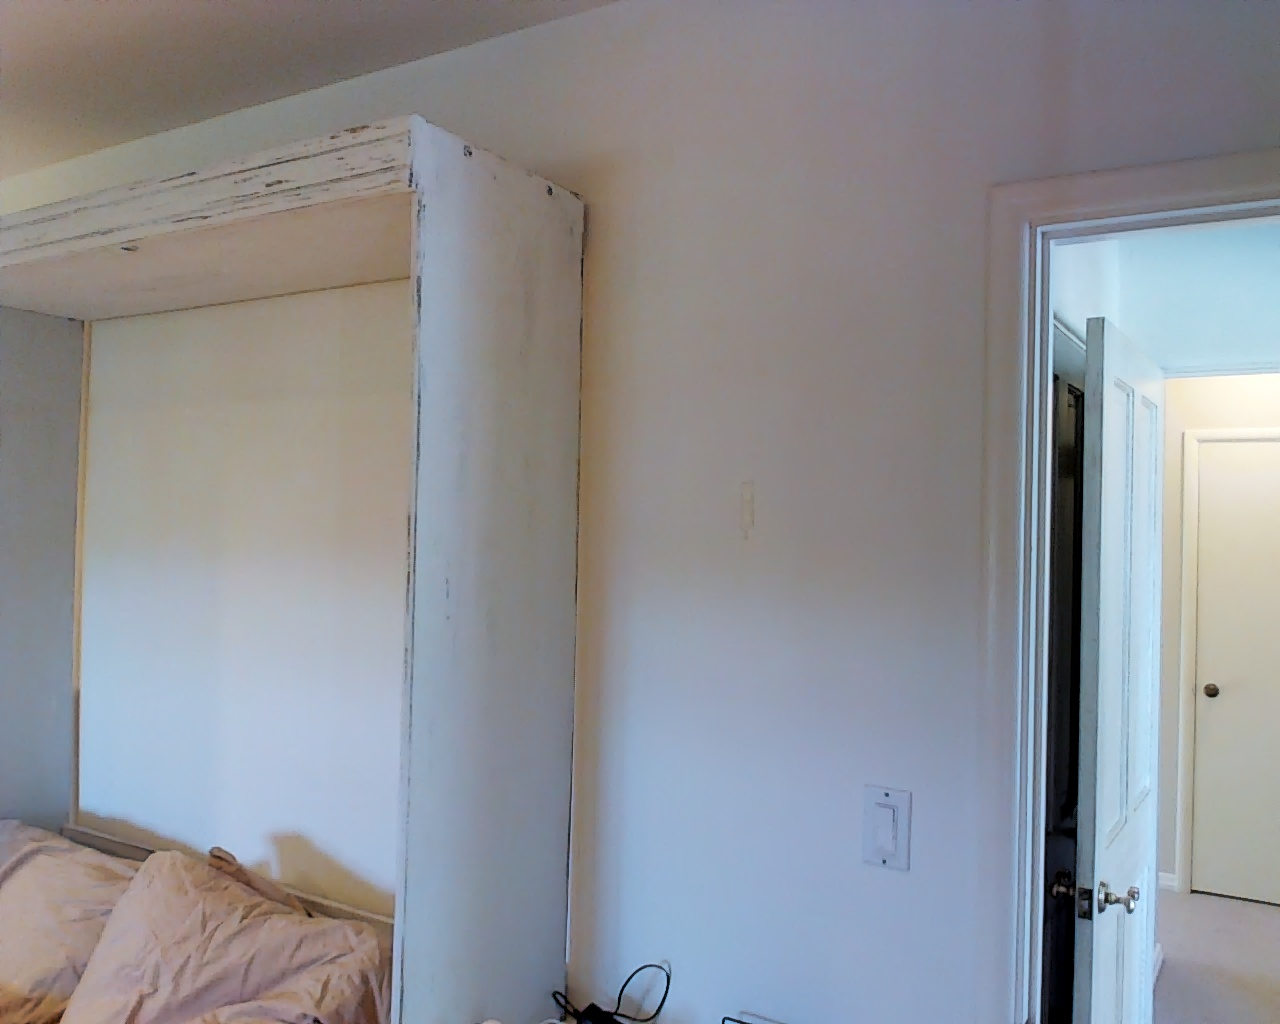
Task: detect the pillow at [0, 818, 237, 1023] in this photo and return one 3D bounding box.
[{"bbox_3d":[-1.190,0.840,2.220,0.760,0.350,0.120,-2,24,33],"label":"pillow"}]

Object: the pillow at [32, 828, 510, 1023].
[{"bbox_3d":[-0.630,0.820,1.870,0.660,0.430,0.270,-6,23,24],"label":"pillow"}]
